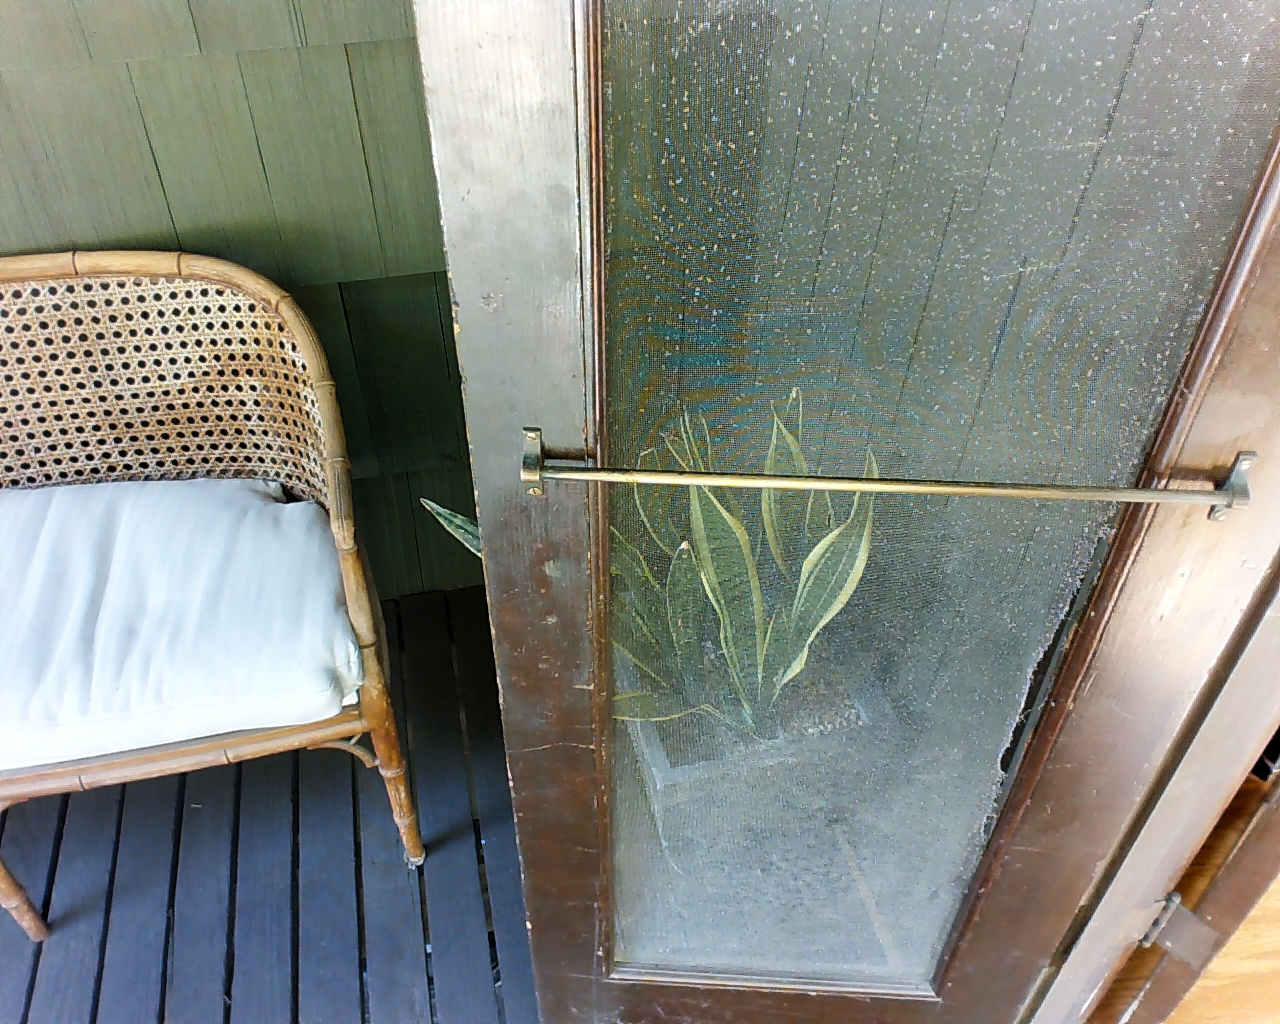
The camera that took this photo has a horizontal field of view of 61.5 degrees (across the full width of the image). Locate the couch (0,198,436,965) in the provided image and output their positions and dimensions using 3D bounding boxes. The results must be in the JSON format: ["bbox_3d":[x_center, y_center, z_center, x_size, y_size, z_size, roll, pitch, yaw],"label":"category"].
[{"bbox_3d":[-1.050,0.150,1.600,1.320,0.860,0.680,-8,43,-9],"label":"couch"}]
